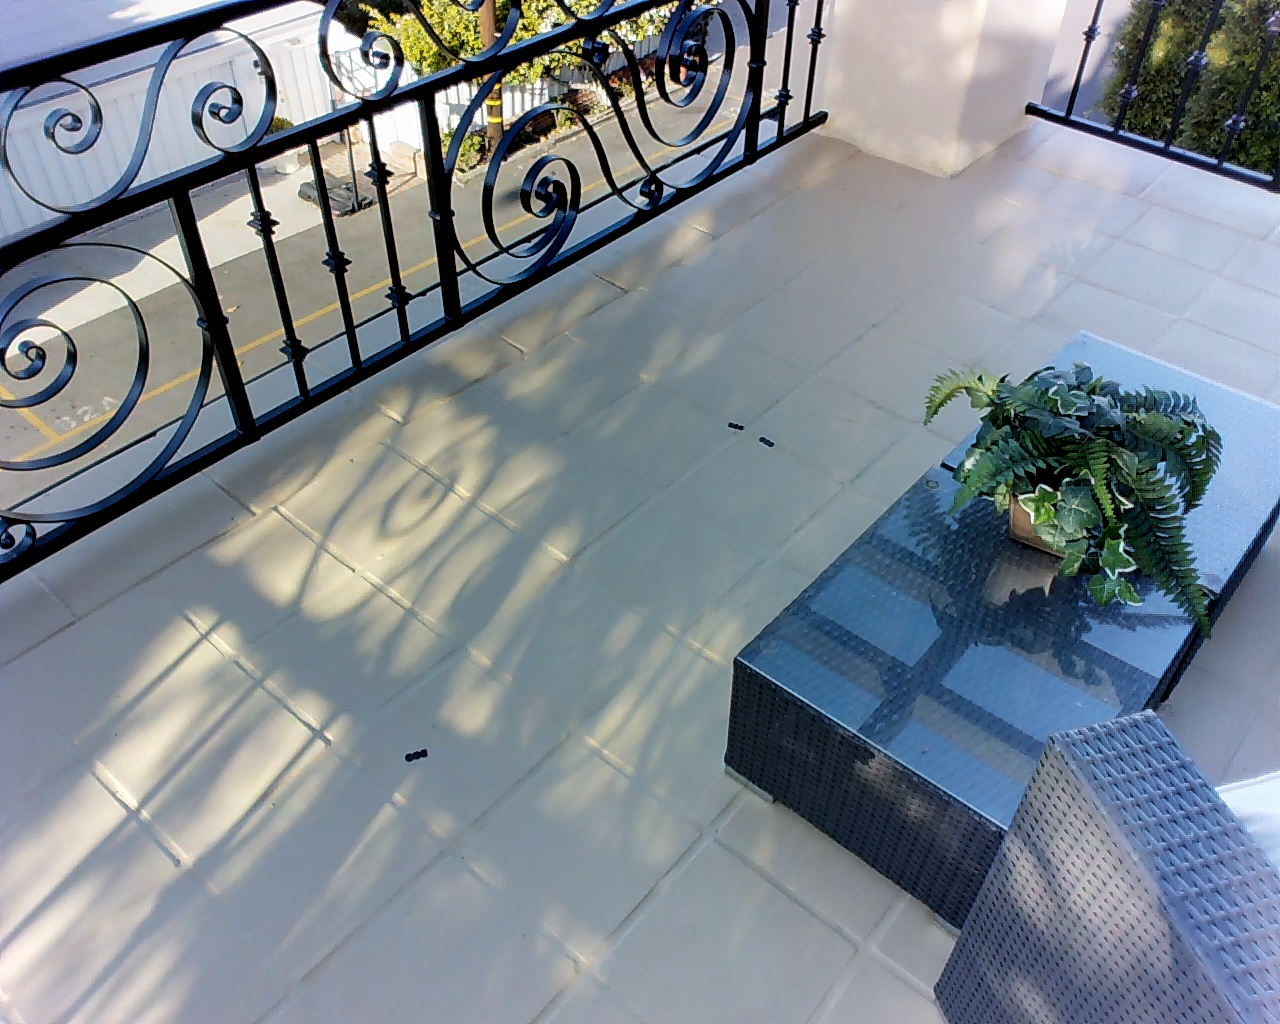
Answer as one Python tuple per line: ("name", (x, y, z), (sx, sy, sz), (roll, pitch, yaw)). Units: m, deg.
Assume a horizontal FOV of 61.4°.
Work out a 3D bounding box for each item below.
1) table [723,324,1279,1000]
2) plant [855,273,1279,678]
("table", (0.760, 0.160, 1.960), (0.540, 0.350, 1.250), (31, 50, 29))
("plant", (0.730, -0.090, 1.790), (0.540, 0.290, 0.450), (30, 50, 29))
